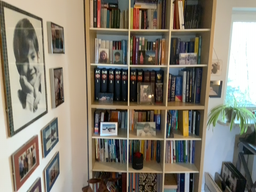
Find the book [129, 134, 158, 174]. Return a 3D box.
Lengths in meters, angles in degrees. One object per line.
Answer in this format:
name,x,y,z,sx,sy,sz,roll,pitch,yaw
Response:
book,0.150,0.560,2.070,0.260,0.320,0.180,1,11,2

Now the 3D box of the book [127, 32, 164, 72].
book,0.160,-0.420,2.030,0.320,0.350,0.240,2,11,3

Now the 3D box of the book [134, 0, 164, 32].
book,0.190,-0.740,1.980,0.240,0.250,0.180,0,11,-6

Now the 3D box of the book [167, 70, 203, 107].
book,0.530,-0.080,2.020,0.270,0.310,0.240,2,11,6

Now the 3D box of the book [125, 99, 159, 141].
book,0.140,0.220,2.040,0.290,0.320,0.260,3,11,9

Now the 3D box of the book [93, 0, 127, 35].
book,-0.150,-0.720,1.920,0.270,0.290,0.300,1,11,1

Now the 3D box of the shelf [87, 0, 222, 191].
shelf,0.190,0.110,2.010,1.050,2.100,0.400,1,11,-1

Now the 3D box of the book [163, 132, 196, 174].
book,0.500,0.560,2.120,0.260,0.300,0.270,2,11,3

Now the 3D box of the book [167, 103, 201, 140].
book,0.530,0.240,2.070,0.260,0.280,0.270,2,11,4

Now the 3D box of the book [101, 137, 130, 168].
book,-0.120,0.550,2.090,0.270,0.260,0.130,1,11,0
